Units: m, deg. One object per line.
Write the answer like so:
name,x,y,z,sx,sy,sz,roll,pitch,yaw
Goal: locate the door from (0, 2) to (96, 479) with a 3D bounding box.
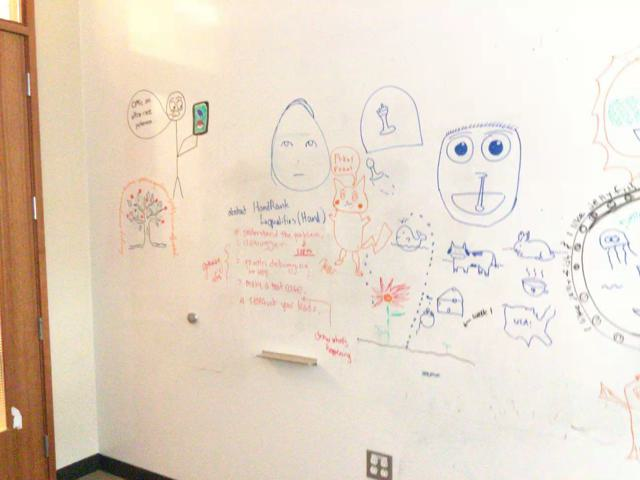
door,-1.640,0.120,2.620,0.230,2.420,1.190,0,2,34
